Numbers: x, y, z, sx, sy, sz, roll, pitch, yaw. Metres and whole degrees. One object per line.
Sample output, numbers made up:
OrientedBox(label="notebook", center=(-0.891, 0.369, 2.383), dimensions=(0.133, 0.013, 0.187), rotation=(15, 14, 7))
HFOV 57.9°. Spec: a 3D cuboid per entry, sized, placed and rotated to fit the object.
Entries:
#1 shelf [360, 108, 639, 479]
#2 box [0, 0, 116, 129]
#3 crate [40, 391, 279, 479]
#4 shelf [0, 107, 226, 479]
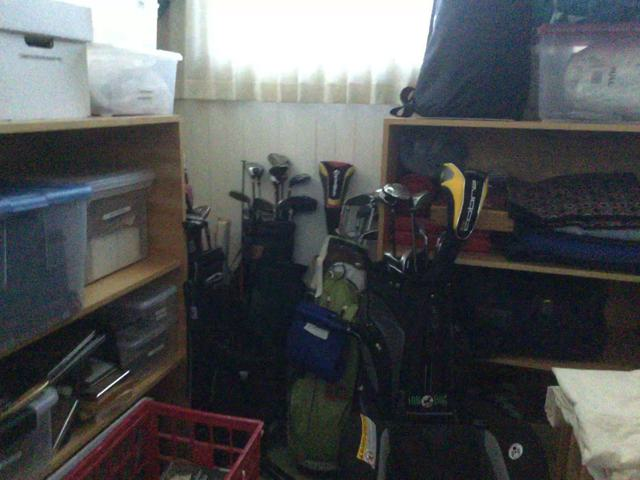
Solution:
OrientedBox(label="shelf", center=(0.660, 0.130, 1.970), dimensions=(0.930, 1.110, 0.510), rotation=(5, 14, 14))
OrientedBox(label="box", center=(-0.620, -0.390, 1.240), dimensions=(0.180, 0.280, 0.320), rotation=(5, 14, 14))
OrientedBox(label="crate", center=(-0.350, 0.610, 1.360), dimensions=(0.390, 0.280, 0.420), rotation=(5, 14, 14))
OrientedBox(label="shelf", center=(-0.760, 0.360, 1.430), dimensions=(0.660, 1.320, 1.020), rotation=(5, 14, 14))
